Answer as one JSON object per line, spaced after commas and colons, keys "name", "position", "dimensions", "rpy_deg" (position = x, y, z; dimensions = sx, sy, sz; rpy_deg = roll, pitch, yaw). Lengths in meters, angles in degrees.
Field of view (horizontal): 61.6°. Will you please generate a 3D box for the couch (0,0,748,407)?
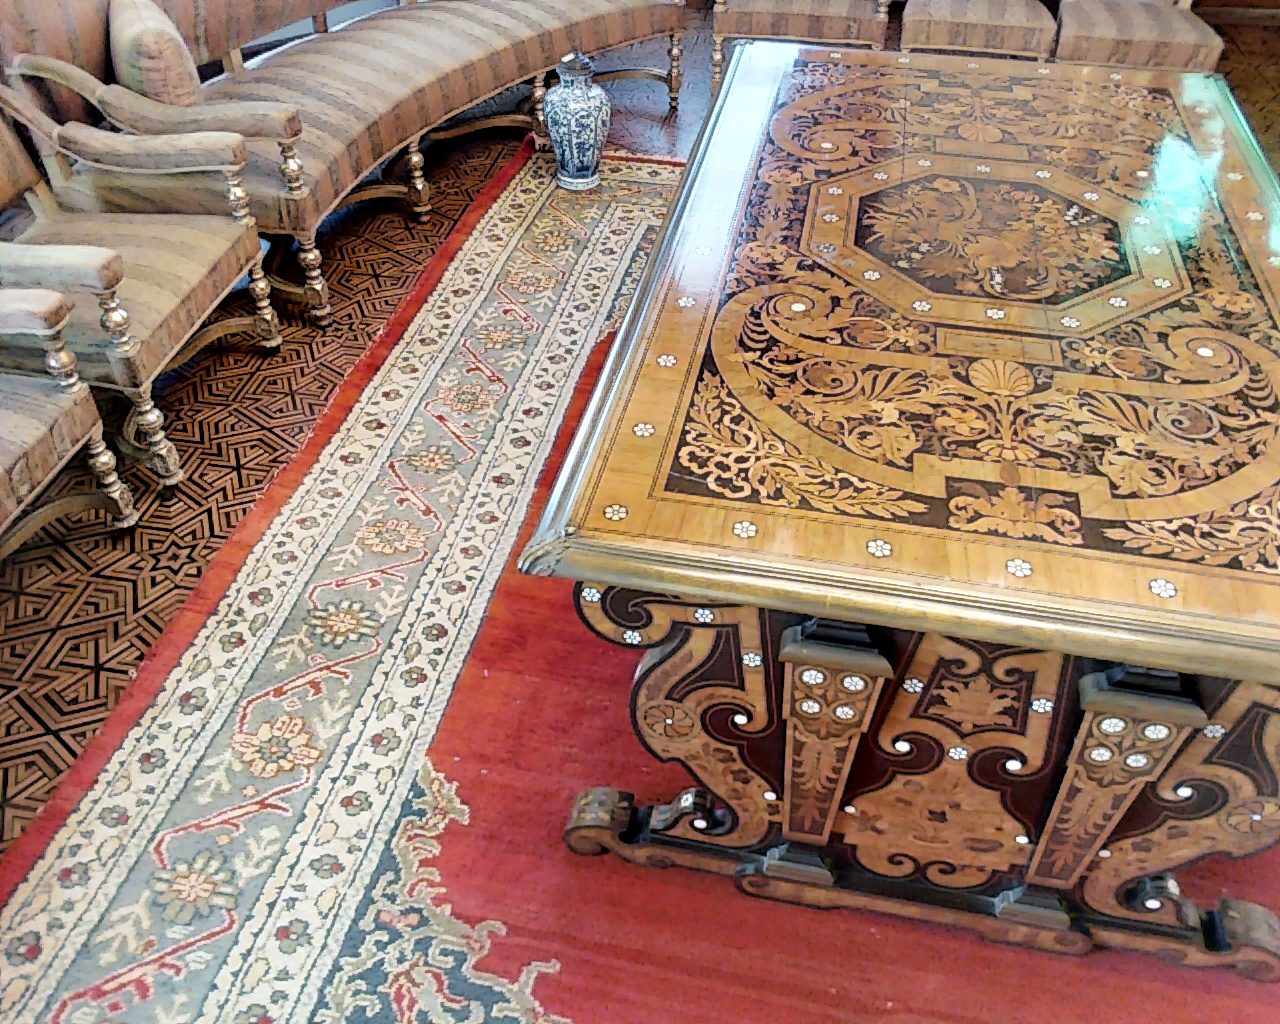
{"name": "couch", "position": [-0.780, -1.690, 3.790], "dimensions": [1.080, 1.070, 2.910], "rpy_deg": [22, 46, 24]}
